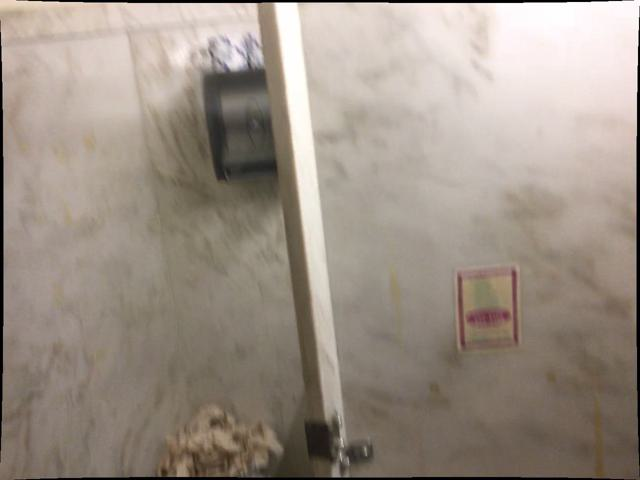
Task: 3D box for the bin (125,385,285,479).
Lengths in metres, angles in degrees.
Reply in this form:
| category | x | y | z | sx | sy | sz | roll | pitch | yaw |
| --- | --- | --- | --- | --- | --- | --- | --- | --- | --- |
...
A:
| category | x | y | z | sx | sy | sz | roll | pitch | yaw |
| --- | --- | --- | --- | --- | --- | --- | --- | --- | --- |
| bin | -0.390 | 0.861 | 2.110 | 0.470 | 0.500 | 0.320 | -6 | 12 | 1 |
